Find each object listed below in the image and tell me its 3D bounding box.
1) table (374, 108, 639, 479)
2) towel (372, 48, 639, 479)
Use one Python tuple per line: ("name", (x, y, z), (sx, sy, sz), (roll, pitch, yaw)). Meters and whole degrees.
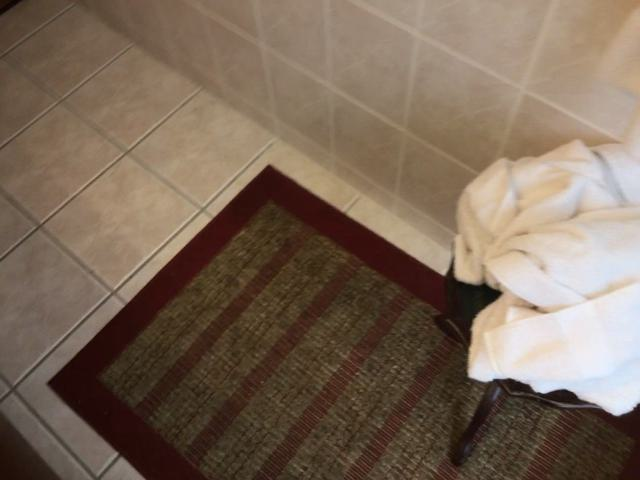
("table", (0.360, 0.170, 0.990), (0.370, 0.590, 0.360), (35, 69, 20))
("towel", (0.340, 0.040, 0.810), (0.360, 0.310, 0.390), (35, 69, 20))
